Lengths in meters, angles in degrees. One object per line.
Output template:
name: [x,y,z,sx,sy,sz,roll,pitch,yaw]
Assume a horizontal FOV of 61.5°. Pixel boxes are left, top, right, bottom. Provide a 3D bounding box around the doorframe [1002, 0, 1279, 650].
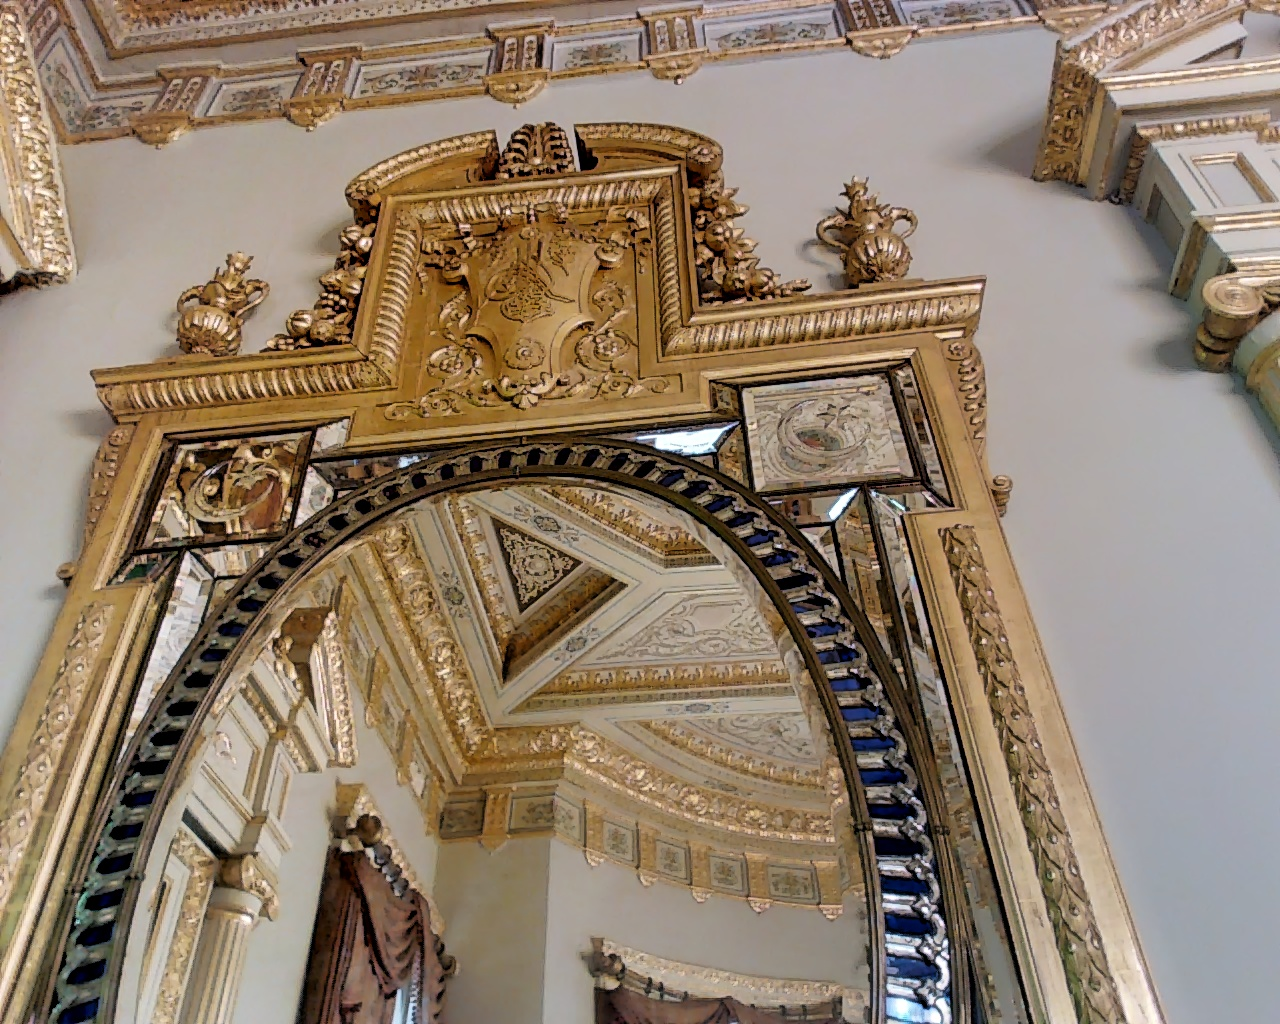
doorframe: [1.479,0.340,1.400,0.819,4.712,0.410,-5,-42,4]
